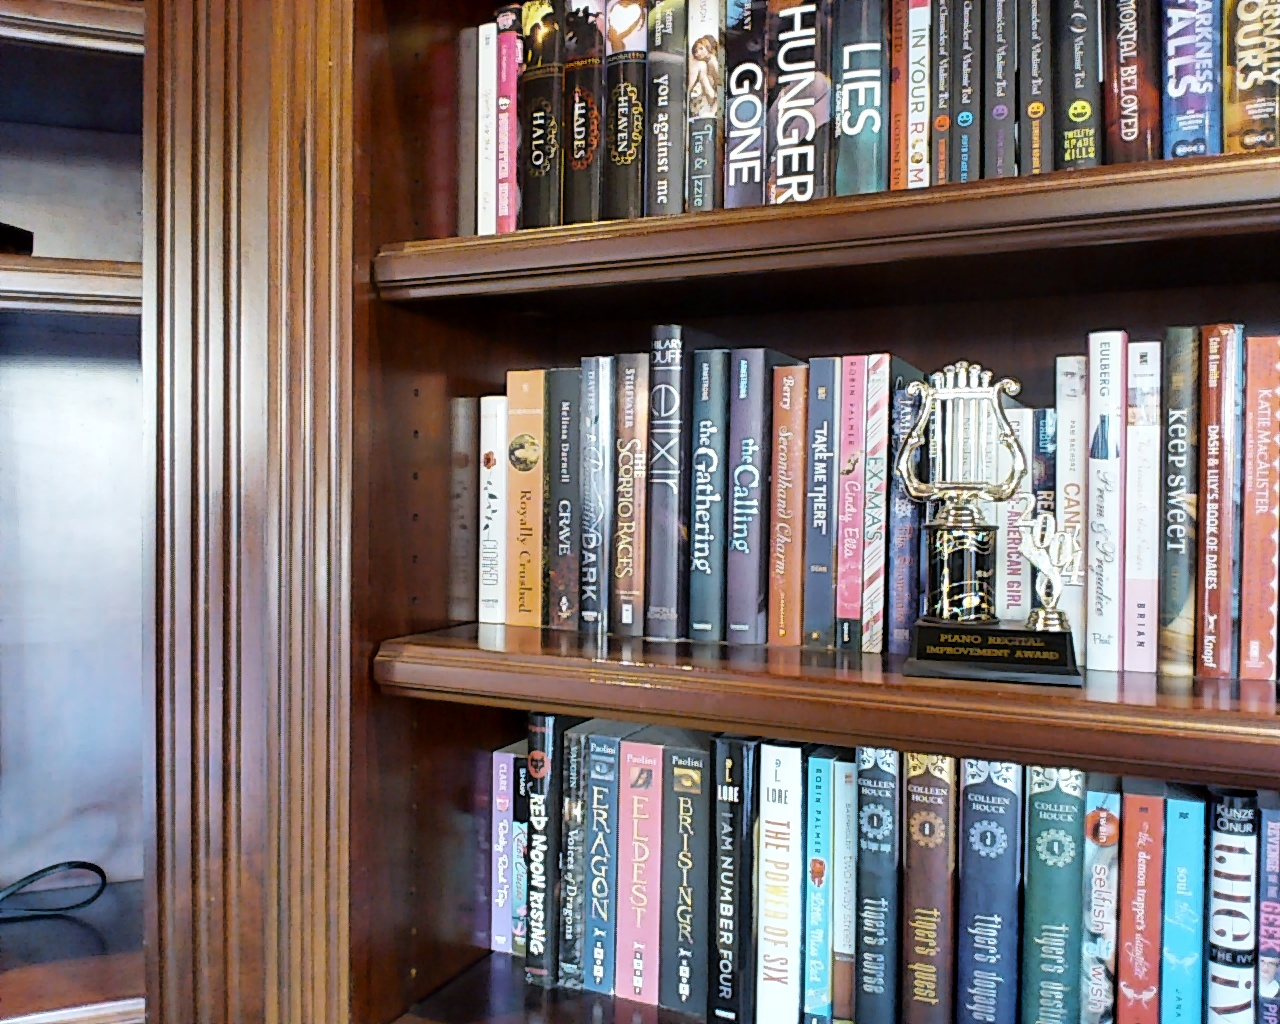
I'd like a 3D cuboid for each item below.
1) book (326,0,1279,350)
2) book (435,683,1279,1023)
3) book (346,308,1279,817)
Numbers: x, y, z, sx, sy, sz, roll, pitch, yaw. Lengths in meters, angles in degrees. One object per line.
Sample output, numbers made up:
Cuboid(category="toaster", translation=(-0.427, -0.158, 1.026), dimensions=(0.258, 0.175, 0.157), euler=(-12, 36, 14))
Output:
Cuboid(category="book", translation=(0.260, -0.270, 0.620), dimensions=(0.980, 0.270, 0.210), euler=(1, 1, 28))
Cuboid(category="book", translation=(0.280, 0.280, 0.690), dimensions=(0.950, 0.240, 0.110), euler=(1, 1, 28))
Cuboid(category="book", translation=(0.270, 0.020, 0.640), dimensions=(0.930, 0.230, 0.260), euler=(1, 1, 27))
